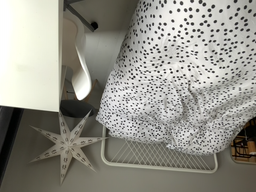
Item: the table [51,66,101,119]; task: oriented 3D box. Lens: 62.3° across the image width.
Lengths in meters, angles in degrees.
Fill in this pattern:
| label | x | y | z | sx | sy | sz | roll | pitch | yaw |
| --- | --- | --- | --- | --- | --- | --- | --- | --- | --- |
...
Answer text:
| label | x | y | z | sx | sy | sz | roll | pitch | yaw |
| --- | --- | --- | --- | --- | --- | --- | --- | --- | --- |
| table | -0.620 | -0.020 | 2.510 | 0.490 | 0.400 | 0.440 | 9 | 150 | -15 |
